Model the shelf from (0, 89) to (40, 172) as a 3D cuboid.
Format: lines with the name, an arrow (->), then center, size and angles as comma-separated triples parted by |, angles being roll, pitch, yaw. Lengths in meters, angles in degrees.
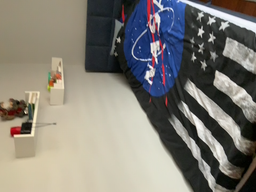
shelf -> -0.800, 0.200, 1.550 | 0.690, 0.230, 0.220 | -120, 34, -57

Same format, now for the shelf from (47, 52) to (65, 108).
shelf -> -0.790, -0.220, 2.350 | 0.950, 0.160, 0.200 | -116, 31, -54
